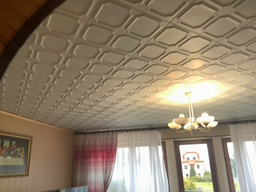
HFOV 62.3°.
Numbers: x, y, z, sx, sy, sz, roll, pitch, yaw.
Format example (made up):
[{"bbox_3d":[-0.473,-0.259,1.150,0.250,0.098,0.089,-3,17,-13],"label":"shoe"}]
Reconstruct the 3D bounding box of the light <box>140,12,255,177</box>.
[{"bbox_3d":[1.060,0.090,2.610,1.700,1.170,0.620,-46,-111,-3],"label":"light"}]
